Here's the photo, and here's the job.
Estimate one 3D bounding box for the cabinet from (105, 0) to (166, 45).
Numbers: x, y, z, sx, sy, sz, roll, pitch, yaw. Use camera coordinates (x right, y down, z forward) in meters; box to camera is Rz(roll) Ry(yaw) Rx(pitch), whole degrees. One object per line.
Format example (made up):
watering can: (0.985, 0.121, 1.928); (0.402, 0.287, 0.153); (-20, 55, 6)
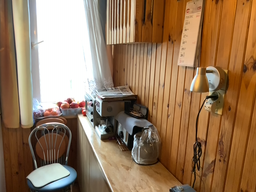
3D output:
cabinet: (0.020, -0.710, 1.460); (0.190, 0.680, 0.660); (-2, 12, -20)

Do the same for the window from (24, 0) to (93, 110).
window: (-0.720, -0.540, 2.280); (0.660, 1.360, 0.160); (-1, 12, -17)

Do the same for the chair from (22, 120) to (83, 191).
chair: (-0.700, 0.720, 1.990); (0.430, 0.780, 0.690); (-2, 12, -21)
